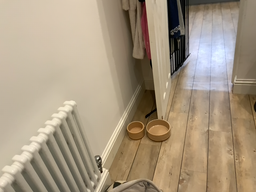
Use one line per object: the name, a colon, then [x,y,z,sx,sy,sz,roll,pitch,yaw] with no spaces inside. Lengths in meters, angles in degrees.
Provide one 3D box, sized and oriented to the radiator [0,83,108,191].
radiator: [-0.380,0.450,1.010,0.120,0.680,0.830,4,36,20]
